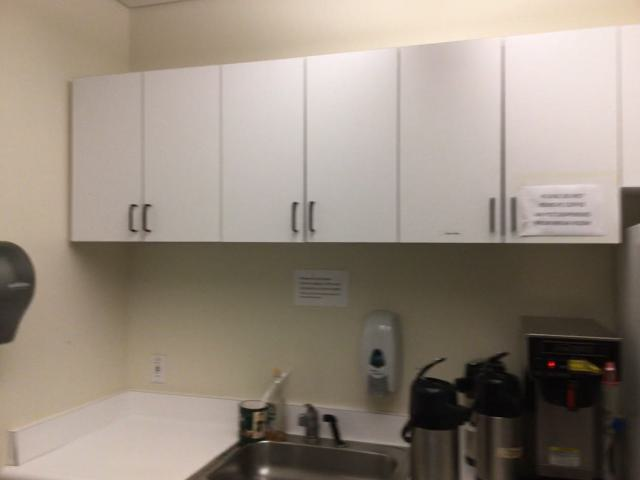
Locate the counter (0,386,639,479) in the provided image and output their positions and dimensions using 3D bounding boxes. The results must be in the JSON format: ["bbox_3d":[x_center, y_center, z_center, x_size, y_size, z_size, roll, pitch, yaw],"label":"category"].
[{"bbox_3d":[-0.010,0.680,1.760,1.820,0.240,0.640,-2,-2,18],"label":"counter"}]
